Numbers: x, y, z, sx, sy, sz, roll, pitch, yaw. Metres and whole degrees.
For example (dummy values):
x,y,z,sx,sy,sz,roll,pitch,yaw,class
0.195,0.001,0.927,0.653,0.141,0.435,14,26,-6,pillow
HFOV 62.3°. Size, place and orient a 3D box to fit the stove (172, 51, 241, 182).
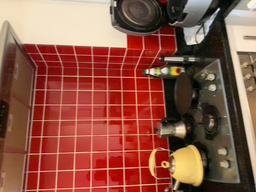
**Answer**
x,y,z,sx,sy,sz,roll,pitch,yaw,class
0.390,0.140,1.200,0.520,0.050,0.600,118,151,-71,stove
